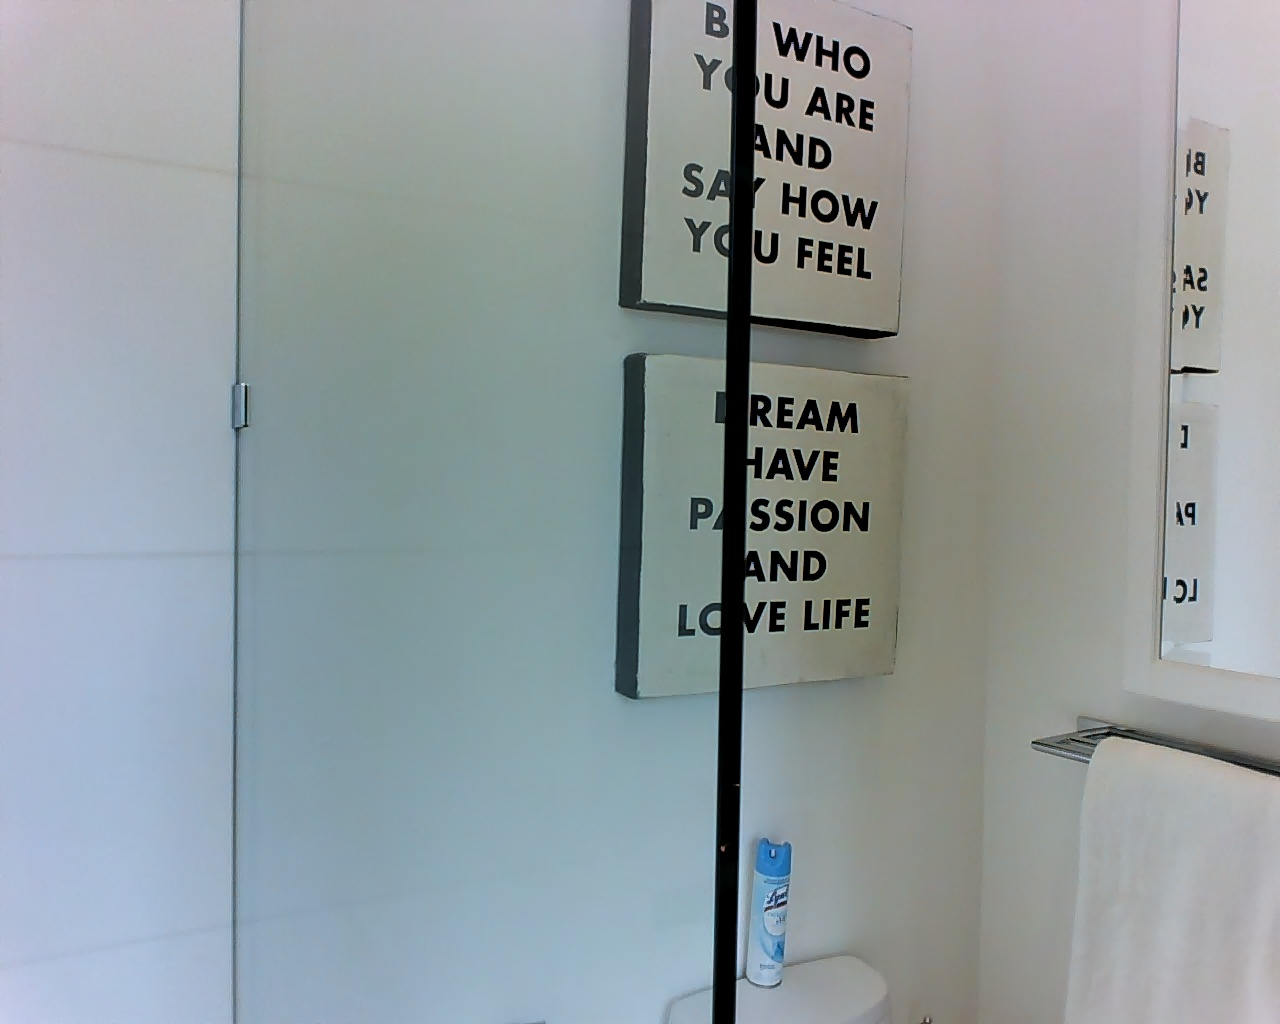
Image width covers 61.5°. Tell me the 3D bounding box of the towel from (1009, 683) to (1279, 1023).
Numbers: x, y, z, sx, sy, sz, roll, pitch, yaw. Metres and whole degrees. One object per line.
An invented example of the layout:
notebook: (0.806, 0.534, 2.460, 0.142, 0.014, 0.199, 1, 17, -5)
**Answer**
towel: (0.840, 0.610, 1.550, 0.260, 0.620, 0.530, 0, 2, -32)

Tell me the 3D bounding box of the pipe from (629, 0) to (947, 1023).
pipe: (0.250, -0.020, 1.820, 0.460, 1.901, 0.230, 0, 2, -30)
